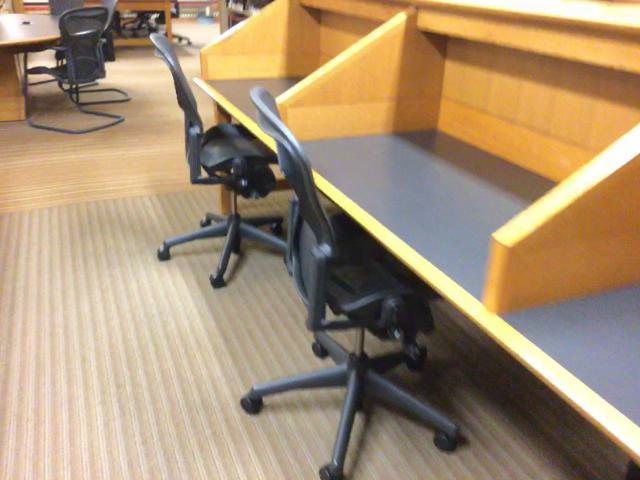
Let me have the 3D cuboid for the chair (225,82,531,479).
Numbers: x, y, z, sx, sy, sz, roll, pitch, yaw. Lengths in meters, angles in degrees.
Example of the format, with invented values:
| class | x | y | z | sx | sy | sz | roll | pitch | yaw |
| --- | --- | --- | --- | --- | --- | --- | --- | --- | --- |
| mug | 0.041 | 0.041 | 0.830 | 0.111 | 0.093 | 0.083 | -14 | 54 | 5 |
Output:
| class | x | y | z | sx | sy | sz | roll | pitch | yaw |
| --- | --- | --- | --- | --- | --- | --- | --- | --- | --- |
| chair | 0.080 | 0.100 | 1.680 | 0.570 | 0.990 | 0.590 | -7 | 27 | -23 |

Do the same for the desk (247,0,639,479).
| class | x | y | z | sx | sy | sz | roll | pitch | yaw |
| --- | --- | --- | --- | --- | --- | --- | --- | --- | --- |
| desk | 0.390 | -0.070 | 1.740 | 0.830 | 1.230 | 1.380 | -7 | 27 | -23 |

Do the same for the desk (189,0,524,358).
| class | x | y | z | sx | sy | sz | roll | pitch | yaw |
| --- | --- | --- | --- | --- | --- | --- | --- | --- | --- |
| desk | -0.030 | -0.480 | 2.600 | 0.780 | 1.240 | 1.490 | -7 | 27 | -23 |
